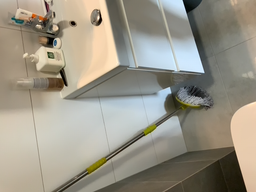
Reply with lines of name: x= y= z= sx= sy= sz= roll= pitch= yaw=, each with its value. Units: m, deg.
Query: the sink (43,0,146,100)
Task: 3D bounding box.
sink: x=-0.180 y=-0.330 z=0.890 sx=0.360 sy=0.150 sz=0.610 roll=-23 pitch=76 yaw=42
